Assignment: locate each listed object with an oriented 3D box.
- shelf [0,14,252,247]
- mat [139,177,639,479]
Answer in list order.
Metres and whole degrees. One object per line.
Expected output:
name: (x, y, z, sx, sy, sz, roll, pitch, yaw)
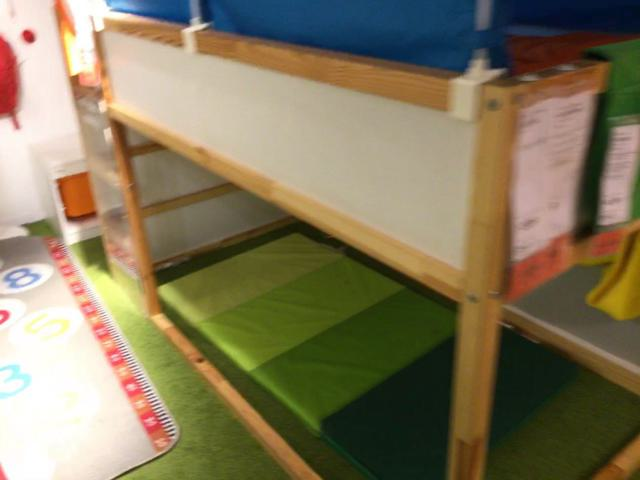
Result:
shelf: (-0.980, -0.630, 3.080, 1.070, 0.920, 0.490, -23, 36, -33)
mat: (0.170, 0.290, 2.050, 0.880, 0.270, 1.780, -23, 36, -33)
